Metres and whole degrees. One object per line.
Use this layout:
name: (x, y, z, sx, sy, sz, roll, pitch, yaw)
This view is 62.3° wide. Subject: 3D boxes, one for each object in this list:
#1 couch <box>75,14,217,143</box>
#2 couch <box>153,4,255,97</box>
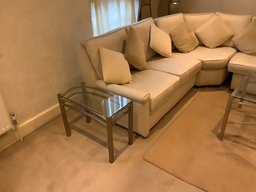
couch: (0.290, -0.350, 2.460, 0.880, 0.840, 1.420, 20, 37, 31)
couch: (1.890, -0.550, 2.700, 3.040, 0.870, 0.940, 19, 37, 31)
